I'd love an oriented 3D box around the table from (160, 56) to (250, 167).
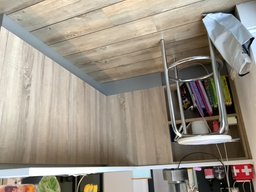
[{"bbox_3d":[0.660,0.150,1.950,0.590,0.910,0.220,-10,160,18],"label":"table"}]
